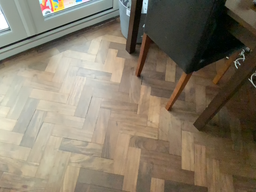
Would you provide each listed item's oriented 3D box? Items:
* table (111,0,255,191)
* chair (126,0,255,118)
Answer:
[{"bbox_3d":[0.640,-0.340,1.230,0.890,0.750,1.290,-28,65,-23],"label":"table"},{"bbox_3d":[0.340,-0.350,1.090,0.500,0.920,0.370,-27,64,-22],"label":"chair"}]
